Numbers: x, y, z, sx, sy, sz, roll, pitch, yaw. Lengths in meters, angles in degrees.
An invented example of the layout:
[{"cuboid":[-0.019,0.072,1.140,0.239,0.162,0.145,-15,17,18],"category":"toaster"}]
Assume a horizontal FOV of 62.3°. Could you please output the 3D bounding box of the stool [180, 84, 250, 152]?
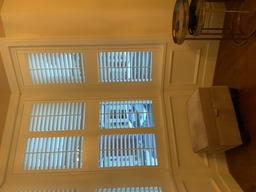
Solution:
[{"cuboid":[0.920,0.270,2.380,0.530,0.450,0.630,94,174,-68],"category":"stool"}]
